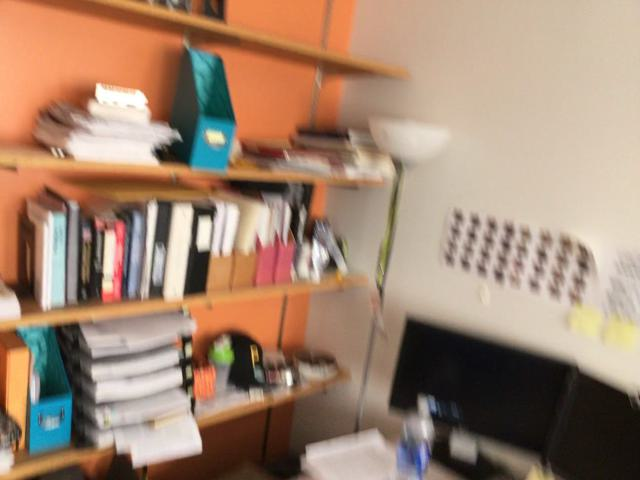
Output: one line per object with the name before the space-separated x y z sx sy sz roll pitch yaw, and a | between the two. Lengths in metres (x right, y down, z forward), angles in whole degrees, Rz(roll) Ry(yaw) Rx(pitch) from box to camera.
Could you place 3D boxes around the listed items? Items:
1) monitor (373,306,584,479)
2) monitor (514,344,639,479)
monitor | 0.470 0.500 1.790 0.280 0.440 0.500 -3 13 -43
monitor | 0.820 0.590 1.450 0.190 0.450 0.600 -1 12 -34
